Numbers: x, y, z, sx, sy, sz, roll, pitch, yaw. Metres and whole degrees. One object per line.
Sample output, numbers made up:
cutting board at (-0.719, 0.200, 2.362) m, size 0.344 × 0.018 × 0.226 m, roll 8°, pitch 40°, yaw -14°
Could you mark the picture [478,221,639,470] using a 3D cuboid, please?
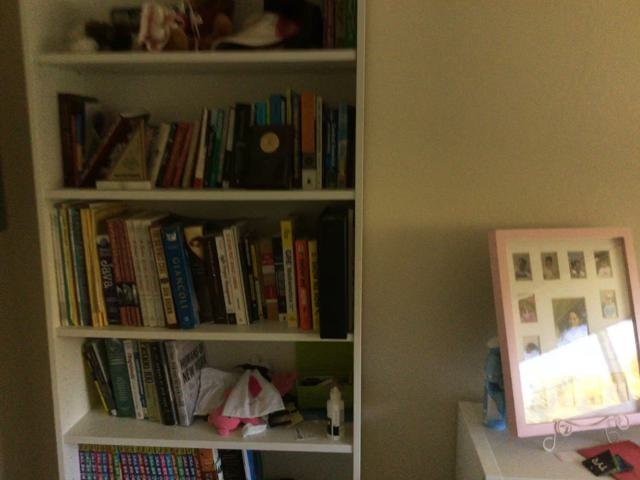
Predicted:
picture at (0.610, 0.230, 1.440) m, size 0.390 × 0.520 × 0.350 m, roll -1°, pitch 7°, yaw 11°
